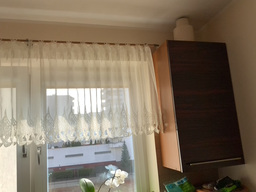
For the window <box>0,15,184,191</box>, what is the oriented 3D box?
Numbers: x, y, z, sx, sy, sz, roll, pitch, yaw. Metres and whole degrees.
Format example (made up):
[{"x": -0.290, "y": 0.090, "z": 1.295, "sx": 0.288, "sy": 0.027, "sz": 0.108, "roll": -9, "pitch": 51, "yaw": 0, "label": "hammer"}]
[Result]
[{"x": -0.710, "y": 0.330, "z": 1.440, "sx": 2.210, "sy": 1.800, "sz": 0.170, "roll": -1, "pitch": -11, "yaw": -14, "label": "window"}]
